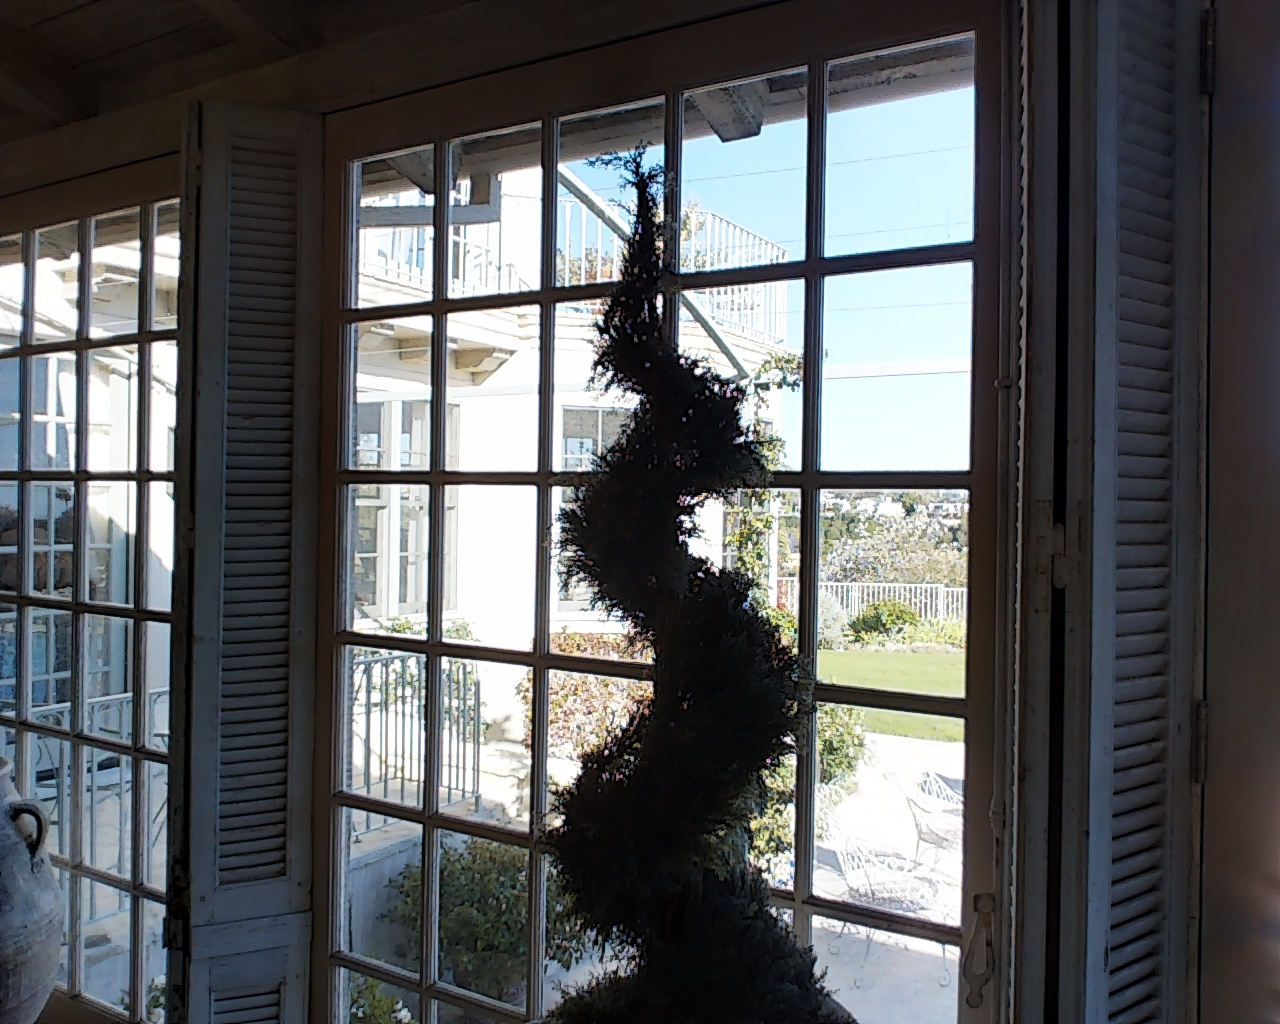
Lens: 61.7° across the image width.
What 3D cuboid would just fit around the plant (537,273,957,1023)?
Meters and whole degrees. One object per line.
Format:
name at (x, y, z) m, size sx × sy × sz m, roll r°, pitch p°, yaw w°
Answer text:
plant at (0.150, 0.230, 1.450) m, size 0.450 × 1.000 × 0.330 m, roll 1°, pitch 0°, yaw 30°
